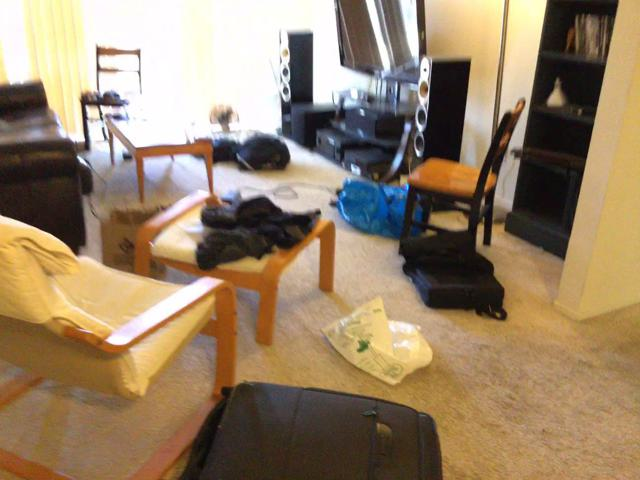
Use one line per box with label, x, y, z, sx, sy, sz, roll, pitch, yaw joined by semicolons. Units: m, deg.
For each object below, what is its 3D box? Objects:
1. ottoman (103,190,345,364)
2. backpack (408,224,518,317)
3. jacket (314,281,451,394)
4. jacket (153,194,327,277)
ottoman;-0.400;0.110;2.570;0.810;0.400;0.640;12;23;23
backpack;0.650;0.130;2.740;0.340;0.250;0.520;1;21;-5
jacket;0.230;0.360;2.260;0.330;0.190;0.430;-10;24;-29
jacket;-0.320;-0.040;2.440;0.540;0.110;0.500;11;23;21
